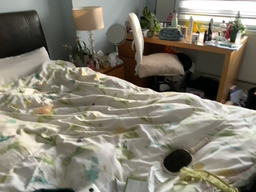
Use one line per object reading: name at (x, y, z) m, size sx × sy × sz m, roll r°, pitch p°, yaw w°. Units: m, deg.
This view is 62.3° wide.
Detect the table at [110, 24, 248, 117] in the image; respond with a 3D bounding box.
table at (0.580, -0.440, 2.760) m, size 1.480 × 0.740 × 0.710 m, roll 19°, pitch 34°, yaw 33°

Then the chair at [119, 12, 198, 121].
chair at (0.280, -0.330, 2.280) m, size 0.660 × 1.010 × 0.570 m, roll 2°, pitch 28°, yaw 4°

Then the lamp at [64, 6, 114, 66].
lamp at (-0.400, -0.650, 2.260) m, size 0.340 × 0.530 × 0.320 m, roll 19°, pitch 34°, yaw 33°
